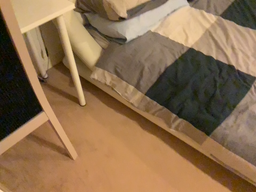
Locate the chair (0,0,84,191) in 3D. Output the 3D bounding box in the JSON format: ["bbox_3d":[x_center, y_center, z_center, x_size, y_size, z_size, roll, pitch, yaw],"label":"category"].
[{"bbox_3d":[-0.570,-0.010,0.820,0.460,1.030,0.430,30,56,24],"label":"chair"}]
